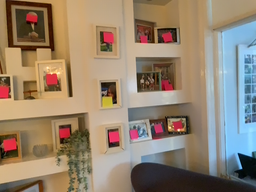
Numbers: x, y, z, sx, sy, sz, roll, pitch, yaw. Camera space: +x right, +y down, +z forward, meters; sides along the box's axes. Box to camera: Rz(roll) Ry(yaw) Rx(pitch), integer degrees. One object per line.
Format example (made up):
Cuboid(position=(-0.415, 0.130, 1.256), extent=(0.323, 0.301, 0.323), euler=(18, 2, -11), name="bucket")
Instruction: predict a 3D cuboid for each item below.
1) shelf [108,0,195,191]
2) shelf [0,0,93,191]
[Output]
Cuboid(position=(0.210, -0.060, 1.900), extent=(0.610, 1.790, 0.320), euler=(-4, 2, -24), name="shelf")
Cuboid(position=(-0.960, -0.040, 1.380), extent=(1.310, 1.940, 0.300), euler=(-4, 2, -24), name="shelf")
